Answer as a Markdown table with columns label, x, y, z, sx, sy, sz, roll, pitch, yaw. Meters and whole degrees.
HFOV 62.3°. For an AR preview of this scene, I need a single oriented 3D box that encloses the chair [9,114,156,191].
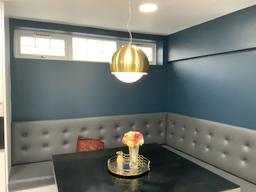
| label | x | y | z | sx | sy | sz | roll | pitch | yaw |
| --- | --- | --- | --- | --- | --- | --- | --- | --- | --- |
| chair | -0.540 | 0.860 | 2.850 | 1.780 | 1.080 | 0.560 | -1 | 4 | -25 |

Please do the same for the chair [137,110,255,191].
| label | x | y | z | sx | sy | sz | roll | pitch | yaw |
| --- | --- | --- | --- | --- | --- | --- | --- | --- | --- |
| chair | 0.890 | 0.870 | 2.610 | 0.610 | 1.100 | 2.190 | -1 | 4 | -25 |
